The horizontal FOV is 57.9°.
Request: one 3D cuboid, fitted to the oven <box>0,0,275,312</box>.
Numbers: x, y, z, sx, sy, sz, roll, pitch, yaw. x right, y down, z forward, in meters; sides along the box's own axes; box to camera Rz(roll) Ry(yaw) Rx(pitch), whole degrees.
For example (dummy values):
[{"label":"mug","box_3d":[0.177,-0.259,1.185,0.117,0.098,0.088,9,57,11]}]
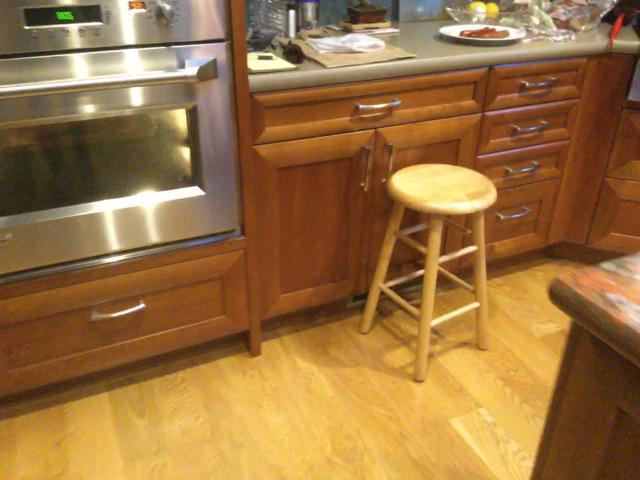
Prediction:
[{"label":"oven","box_3d":[-0.560,-0.280,1.340,0.840,0.760,0.280,-13,33,-21]}]
